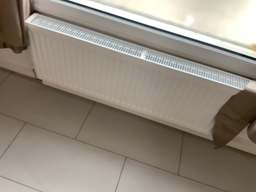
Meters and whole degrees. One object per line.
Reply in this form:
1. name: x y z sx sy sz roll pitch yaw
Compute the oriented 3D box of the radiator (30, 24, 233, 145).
1. radiator: -0.030 -0.030 1.210 1.020 0.480 0.060 19 50 4
